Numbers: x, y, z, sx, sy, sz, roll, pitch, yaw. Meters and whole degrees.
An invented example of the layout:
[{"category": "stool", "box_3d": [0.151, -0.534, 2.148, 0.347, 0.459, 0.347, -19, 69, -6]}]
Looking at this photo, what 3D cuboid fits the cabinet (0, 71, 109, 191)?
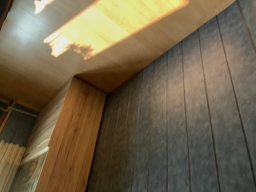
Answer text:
[{"category": "cabinet", "box_3d": [-0.730, 0.590, 2.000, 0.470, 1.420, 0.820, 31, 138, -27]}]
